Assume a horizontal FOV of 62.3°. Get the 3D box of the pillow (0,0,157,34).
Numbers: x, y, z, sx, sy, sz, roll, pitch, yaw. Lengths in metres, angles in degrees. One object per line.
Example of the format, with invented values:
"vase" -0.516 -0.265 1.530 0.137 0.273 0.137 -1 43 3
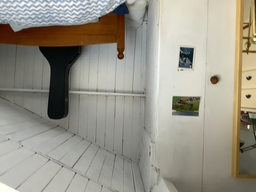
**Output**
"pillow" -0.550 -0.660 1.510 1.400 0.190 0.610 2 180 -5
